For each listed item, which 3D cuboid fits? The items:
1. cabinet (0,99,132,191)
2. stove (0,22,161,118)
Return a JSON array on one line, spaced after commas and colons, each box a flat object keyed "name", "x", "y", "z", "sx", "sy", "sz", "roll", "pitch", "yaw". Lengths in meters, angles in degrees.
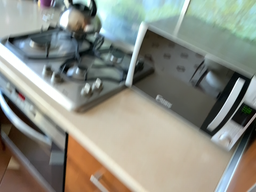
[{"name": "cabinet", "x": -0.410, "y": 0.390, "z": 1.500, "sx": 0.580, "sy": 0.250, "sz": 0.630, "roll": 34, "pitch": 41, "yaw": 22}, {"name": "stove", "x": -0.230, "y": -0.200, "z": 1.050, "sx": 0.580, "sy": 0.020, "sz": 0.610, "roll": 34, "pitch": 41, "yaw": 22}]
